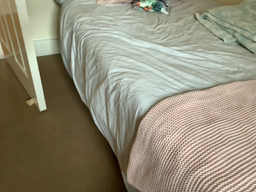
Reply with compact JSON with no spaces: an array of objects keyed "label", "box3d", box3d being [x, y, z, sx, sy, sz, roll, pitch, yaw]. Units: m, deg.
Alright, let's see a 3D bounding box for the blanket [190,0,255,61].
[{"label":"blanket","box3d":[0.790,-0.450,1.340,0.480,0.150,0.600,-14,45,-24]}]
